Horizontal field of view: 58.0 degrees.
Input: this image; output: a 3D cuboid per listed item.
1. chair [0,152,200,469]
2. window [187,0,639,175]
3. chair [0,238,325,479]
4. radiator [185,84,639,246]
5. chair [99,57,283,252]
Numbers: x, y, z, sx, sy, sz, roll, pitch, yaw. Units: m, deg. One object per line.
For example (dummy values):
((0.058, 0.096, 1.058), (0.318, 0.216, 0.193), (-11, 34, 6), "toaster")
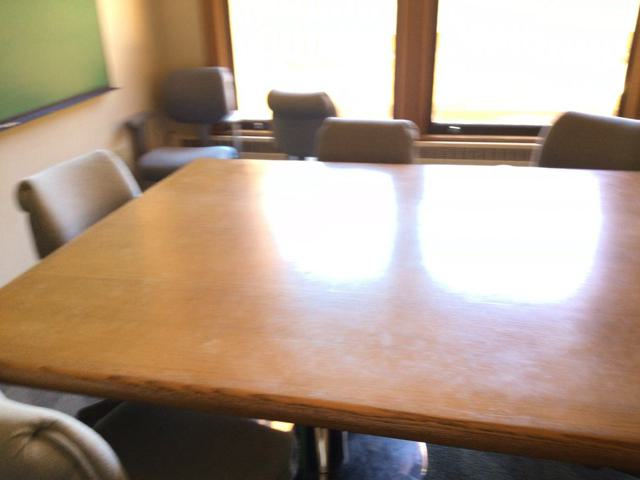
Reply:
((-0.690, 0.200, 1.770), (0.300, 0.830, 0.440), (-2, 21, 18), "chair")
((0.470, -0.790, 3.080), (2.400, 0.690, 0.200), (-2, 21, 18), "window")
((-0.390, 0.470, 1.100), (0.600, 0.760, 0.600), (-2, 21, 18), "chair")
((0.530, -0.360, 3.160), (2.640, 0.700, 0.140), (-2, 21, 18), "radiator")
((-0.650, -0.470, 3.150), (0.590, 0.890, 0.600), (-2, 21, 18), "chair")
